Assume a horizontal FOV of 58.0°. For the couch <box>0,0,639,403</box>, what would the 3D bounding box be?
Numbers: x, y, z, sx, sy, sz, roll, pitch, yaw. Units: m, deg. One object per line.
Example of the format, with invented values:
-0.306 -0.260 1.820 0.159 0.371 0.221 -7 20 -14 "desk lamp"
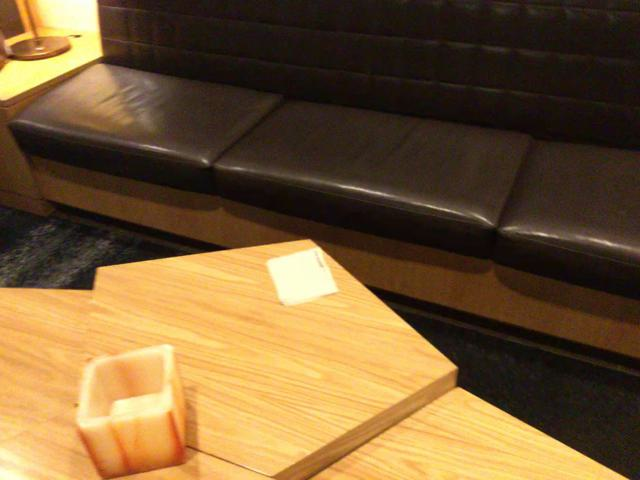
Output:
0.150 -0.300 1.840 2.710 0.880 0.690 12 40 24 "couch"
